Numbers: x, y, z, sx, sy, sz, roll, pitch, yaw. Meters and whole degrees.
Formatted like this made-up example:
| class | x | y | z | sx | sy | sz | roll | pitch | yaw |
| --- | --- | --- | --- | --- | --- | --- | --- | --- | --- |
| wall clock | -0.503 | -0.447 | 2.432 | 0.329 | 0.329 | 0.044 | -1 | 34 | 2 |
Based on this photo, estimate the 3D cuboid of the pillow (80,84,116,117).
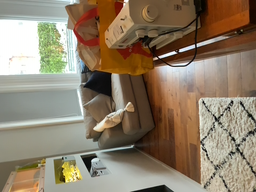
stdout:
| class | x | y | z | sx | sy | sz | roll | pitch | yaw |
| --- | --- | --- | --- | --- | --- | --- | --- | --- | --- |
| pillow | -0.450 | 0.080 | 3.190 | 0.170 | 0.470 | 0.430 | -27 | 69 | 34 |

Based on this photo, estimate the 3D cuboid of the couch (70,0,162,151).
| class | x | y | z | sx | sy | sz | roll | pitch | yaw |
| --- | --- | --- | --- | --- | --- | --- | --- | --- | --- |
| couch | -0.370 | -0.720 | 3.480 | 0.920 | 0.810 | 2.930 | 127 | 135 | -59 |
